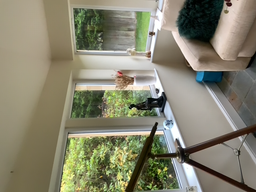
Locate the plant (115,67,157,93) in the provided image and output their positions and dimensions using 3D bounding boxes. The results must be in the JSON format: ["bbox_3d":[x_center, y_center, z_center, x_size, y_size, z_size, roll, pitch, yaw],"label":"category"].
[{"bbox_3d":[0.110,-0.240,3.220,0.230,0.590,0.300,-101,14,-53],"label":"plant"}]

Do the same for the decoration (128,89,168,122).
[{"bbox_3d":[0.250,0.130,2.800,0.190,0.430,0.410,-100,14,-51],"label":"decoration"}]
